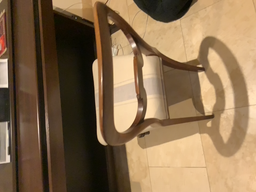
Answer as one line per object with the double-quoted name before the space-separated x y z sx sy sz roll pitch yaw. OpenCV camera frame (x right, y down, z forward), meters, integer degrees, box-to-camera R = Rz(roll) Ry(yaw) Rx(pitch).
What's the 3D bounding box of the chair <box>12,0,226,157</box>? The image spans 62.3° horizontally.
"chair" 0.010 -0.020 1.030 0.560 0.860 0.480 -14 77 39
